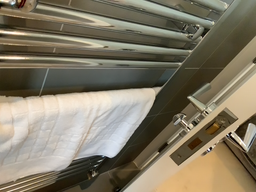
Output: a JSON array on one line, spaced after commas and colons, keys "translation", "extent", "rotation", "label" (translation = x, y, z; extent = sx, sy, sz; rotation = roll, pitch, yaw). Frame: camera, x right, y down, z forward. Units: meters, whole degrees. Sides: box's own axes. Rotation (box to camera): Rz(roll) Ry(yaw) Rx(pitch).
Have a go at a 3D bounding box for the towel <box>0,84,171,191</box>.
[{"translation": [-0.140, 0.110, 0.580], "extent": [0.470, 0.310, 0.080], "rotation": [-5, 53, -41], "label": "towel"}]
